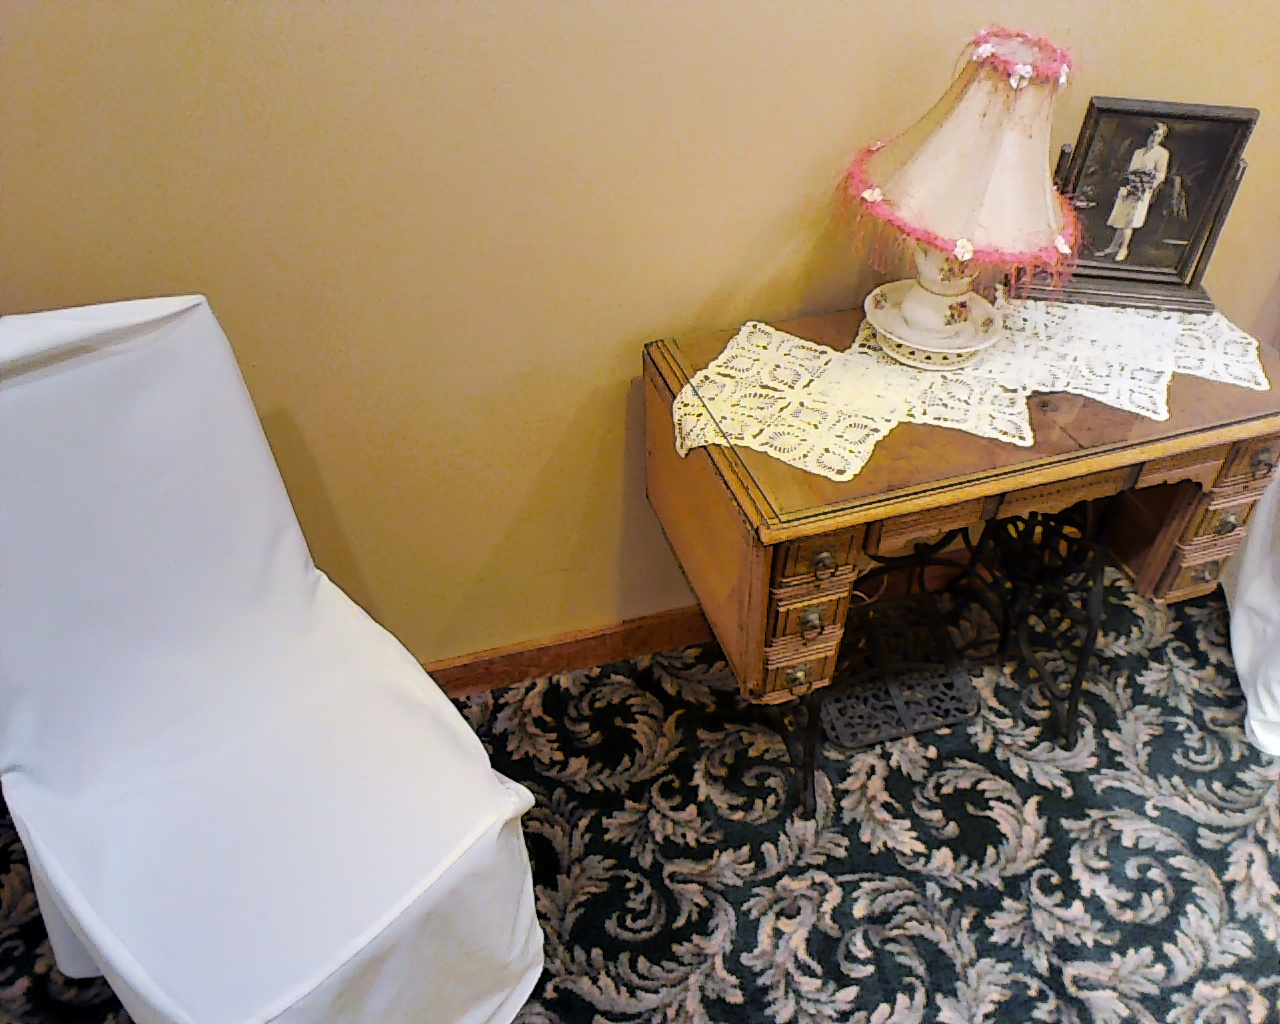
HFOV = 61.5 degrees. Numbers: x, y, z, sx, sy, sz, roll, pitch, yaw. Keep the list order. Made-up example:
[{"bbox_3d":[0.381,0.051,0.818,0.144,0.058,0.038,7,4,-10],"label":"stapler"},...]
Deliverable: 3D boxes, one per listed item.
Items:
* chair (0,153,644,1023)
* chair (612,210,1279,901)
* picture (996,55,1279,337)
[{"bbox_3d":[-0.460,0.270,1.270,0.670,1.040,0.620,30,49,28],"label":"chair"},{"bbox_3d":[0.480,0.060,1.710,0.940,0.790,0.490,-13,44,-15],"label":"chair"},{"bbox_3d":[0.730,-0.460,1.580,0.310,0.330,0.180,6,42,5],"label":"picture"}]
